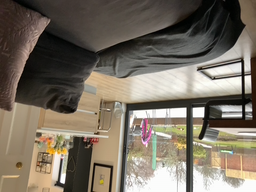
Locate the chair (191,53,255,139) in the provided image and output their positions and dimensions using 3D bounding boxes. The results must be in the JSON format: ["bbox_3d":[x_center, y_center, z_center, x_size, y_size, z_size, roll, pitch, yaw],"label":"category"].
[{"bbox_3d":[1.200,0.050,2.530,0.710,0.860,0.510,-6,165,39],"label":"chair"}]
